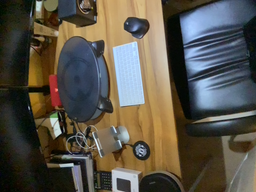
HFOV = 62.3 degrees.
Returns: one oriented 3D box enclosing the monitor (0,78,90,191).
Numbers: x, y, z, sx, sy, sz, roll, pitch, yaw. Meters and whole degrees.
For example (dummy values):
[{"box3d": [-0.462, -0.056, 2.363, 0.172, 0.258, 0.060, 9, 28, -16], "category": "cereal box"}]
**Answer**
[{"box3d": [-0.440, 0.240, 0.920, 0.050, 0.530, 0.660, -23, 81, 30], "category": "monitor"}]
